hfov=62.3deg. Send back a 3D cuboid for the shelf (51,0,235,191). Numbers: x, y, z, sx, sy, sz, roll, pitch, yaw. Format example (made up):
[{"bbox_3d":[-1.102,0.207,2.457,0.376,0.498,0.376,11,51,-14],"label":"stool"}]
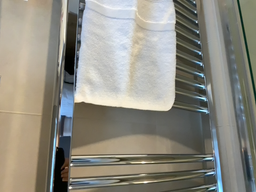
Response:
[{"bbox_3d":[0.070,-0.150,0.620,0.500,1.500,0.060,8,163,-29],"label":"shelf"}]

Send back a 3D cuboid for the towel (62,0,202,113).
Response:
[{"bbox_3d":[0.020,-0.120,0.520,0.290,0.300,0.150,8,172,-31],"label":"towel"}]
